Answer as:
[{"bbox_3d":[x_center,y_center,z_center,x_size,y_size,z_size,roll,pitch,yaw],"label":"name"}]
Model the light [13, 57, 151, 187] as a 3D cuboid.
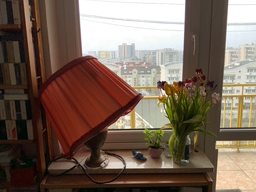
[{"bbox_3d":[-0.190,0.070,1.200,0.550,0.560,0.600,-1,12,-2],"label":"light"}]
